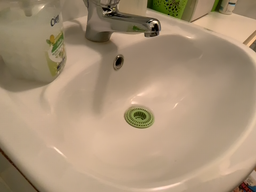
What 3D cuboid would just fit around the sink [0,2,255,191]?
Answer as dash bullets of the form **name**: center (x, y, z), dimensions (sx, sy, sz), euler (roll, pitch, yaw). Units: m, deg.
- **sink**: center (0.050, -0.010, 0.400), dimensions (0.380, 0.140, 0.510), euler (30, 44, 25)
